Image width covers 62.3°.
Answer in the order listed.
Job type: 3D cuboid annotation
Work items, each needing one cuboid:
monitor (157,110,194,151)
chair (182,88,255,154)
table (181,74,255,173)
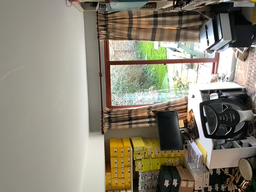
[{"bbox_3d":[0.770,0.560,3.500,0.040,0.500,0.650,104,163,-64],"label":"monitor"},{"bbox_3d":[1.320,0.270,2.660,0.660,1.050,0.690,167,101,-82],"label":"chair"},{"bbox_3d":[1.410,0.440,3.300,0.760,0.720,1.340,106,161,-67],"label":"table"}]
